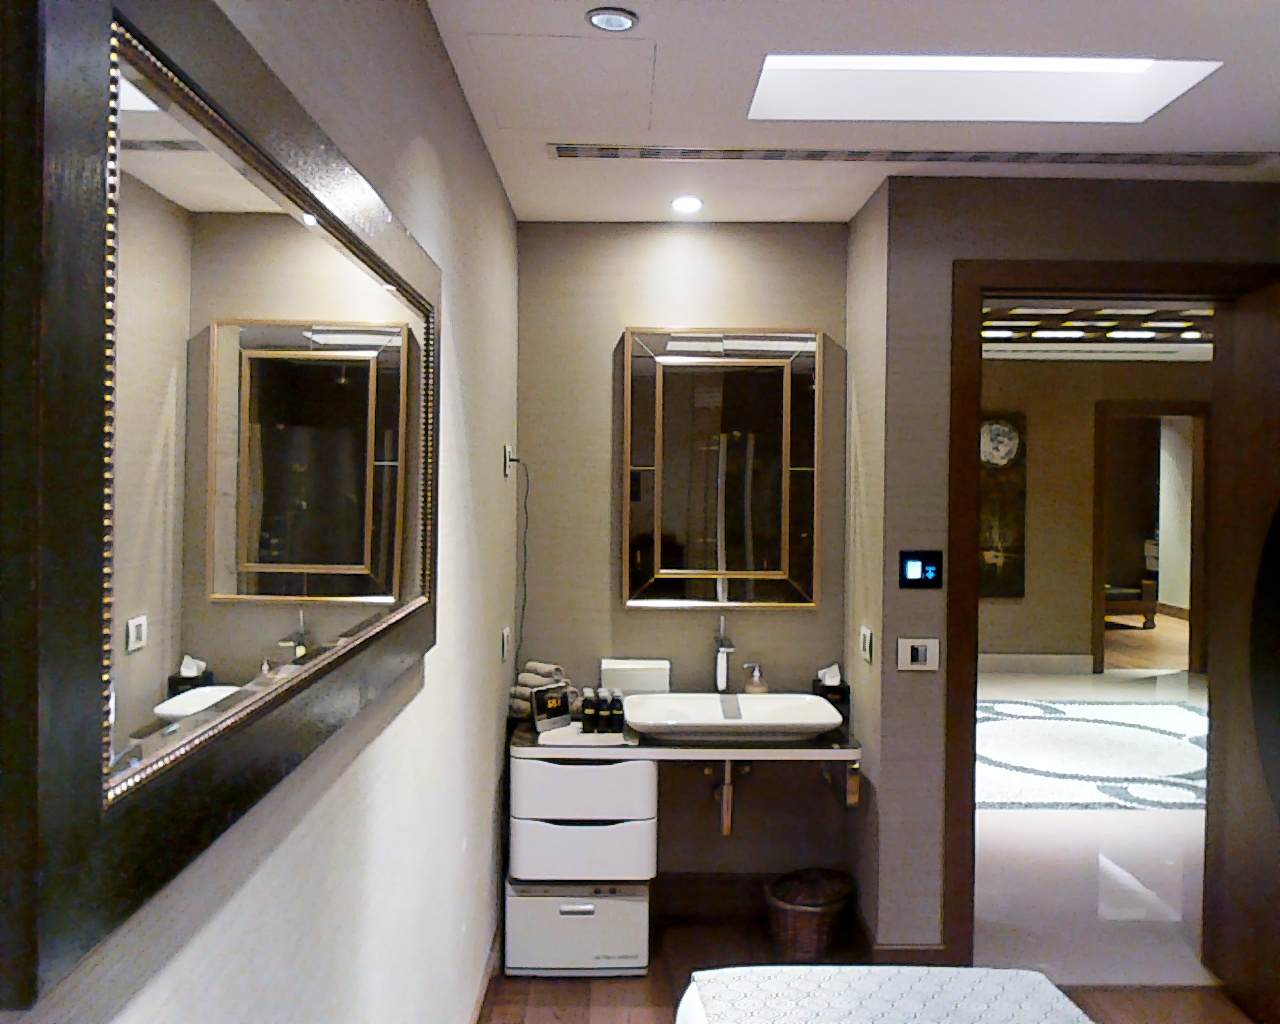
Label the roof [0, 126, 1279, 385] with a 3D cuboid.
[{"bbox_3d":[0.400,-1.140,6.140,9.268,0.190,5.460,0,1,-1],"label":"roof"}]
